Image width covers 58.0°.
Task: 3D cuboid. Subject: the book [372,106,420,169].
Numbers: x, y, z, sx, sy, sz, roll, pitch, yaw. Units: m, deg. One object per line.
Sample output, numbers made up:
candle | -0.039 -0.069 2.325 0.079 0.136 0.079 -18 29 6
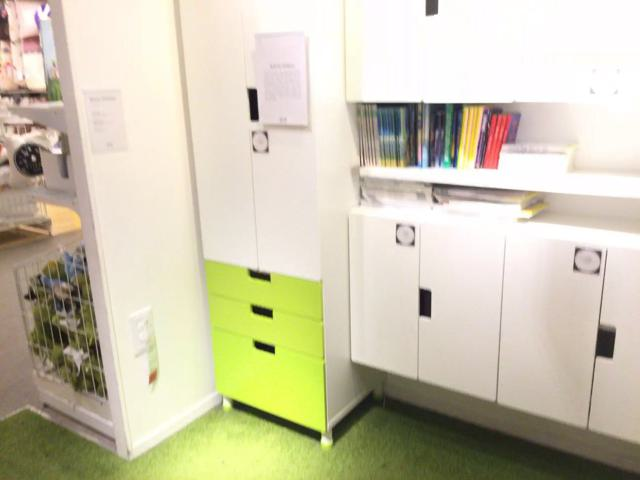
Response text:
book | 0.280 -0.380 2.120 0.110 0.210 0.140 11 21 40

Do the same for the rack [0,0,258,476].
rack | -0.840 -0.130 2.450 0.710 1.870 0.730 11 21 40

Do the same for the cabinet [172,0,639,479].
cabinet | 0.580 -0.100 1.840 2.370 2.000 0.650 11 21 40

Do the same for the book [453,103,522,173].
book | 0.580 -0.360 2.010 0.180 0.220 0.140 11 21 40

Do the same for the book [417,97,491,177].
book | 0.460 -0.360 1.980 0.140 0.240 0.250 11 21 40

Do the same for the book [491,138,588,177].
book | 0.730 -0.280 1.930 0.250 0.090 0.180 11 21 40
